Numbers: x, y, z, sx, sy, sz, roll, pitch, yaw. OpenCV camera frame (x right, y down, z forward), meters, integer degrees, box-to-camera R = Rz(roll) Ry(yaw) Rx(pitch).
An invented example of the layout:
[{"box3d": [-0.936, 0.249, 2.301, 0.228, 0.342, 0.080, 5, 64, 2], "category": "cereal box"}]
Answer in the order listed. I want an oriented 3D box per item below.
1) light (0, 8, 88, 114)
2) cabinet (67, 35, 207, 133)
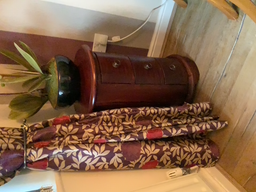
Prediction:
[{"box3d": [-0.550, -0.170, 0.980, 0.300, 0.610, 0.410, 42, 126, 53], "category": "light"}, {"box3d": [0.030, -0.080, 1.240, 0.380, 0.650, 0.380, 46, 129, 51], "category": "cabinet"}]
